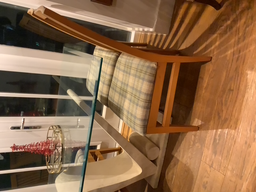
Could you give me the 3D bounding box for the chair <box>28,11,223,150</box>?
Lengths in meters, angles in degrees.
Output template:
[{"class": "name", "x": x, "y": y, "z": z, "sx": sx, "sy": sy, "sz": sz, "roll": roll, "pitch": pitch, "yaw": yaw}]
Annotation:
[{"class": "chair", "x": -0.020, "y": -0.090, "z": 1.280, "sx": 0.490, "sy": 0.970, "sz": 0.560, "roll": 32, "pitch": 114, "yaw": 55}]
